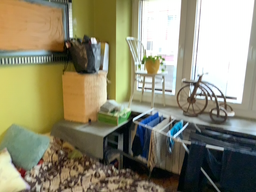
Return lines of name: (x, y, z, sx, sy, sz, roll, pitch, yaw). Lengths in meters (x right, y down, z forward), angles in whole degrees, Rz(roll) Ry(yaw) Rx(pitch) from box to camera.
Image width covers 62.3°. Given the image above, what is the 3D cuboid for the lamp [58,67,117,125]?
lamp: (-0.470, -0.040, 2.620, 0.410, 0.580, 0.600, 8, 14, 28)
